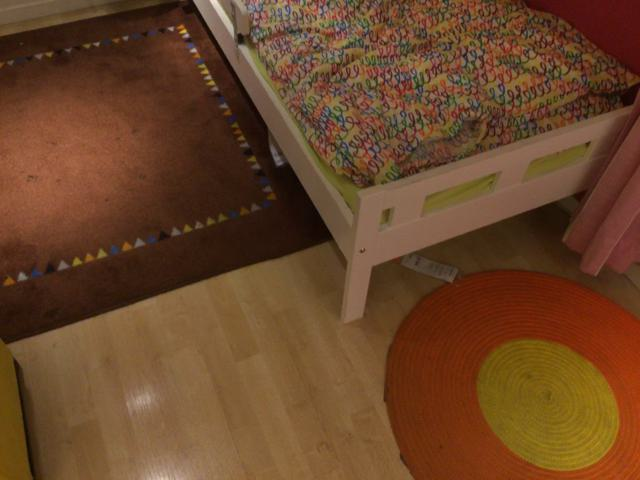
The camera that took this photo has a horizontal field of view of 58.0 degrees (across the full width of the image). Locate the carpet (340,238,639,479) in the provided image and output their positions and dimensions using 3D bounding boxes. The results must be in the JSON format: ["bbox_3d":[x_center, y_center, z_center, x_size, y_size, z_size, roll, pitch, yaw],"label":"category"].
[{"bbox_3d":[0.510,0.360,1.320,0.710,0.050,0.700,-16,53,-15],"label":"carpet"}]
